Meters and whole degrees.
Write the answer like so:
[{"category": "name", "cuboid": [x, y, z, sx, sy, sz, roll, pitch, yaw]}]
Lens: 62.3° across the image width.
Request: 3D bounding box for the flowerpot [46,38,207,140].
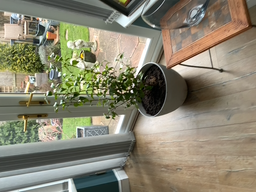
[{"category": "flowerpot", "cuboid": [-0.010, -0.060, 1.580, 0.490, 1.010, 0.430, 52, 131, 43]}]
